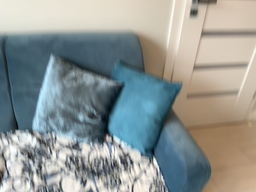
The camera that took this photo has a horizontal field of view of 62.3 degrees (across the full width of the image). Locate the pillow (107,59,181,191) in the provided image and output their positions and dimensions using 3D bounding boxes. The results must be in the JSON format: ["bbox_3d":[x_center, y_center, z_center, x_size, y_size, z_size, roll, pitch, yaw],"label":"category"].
[{"bbox_3d":[0.030,0.250,1.290,0.260,0.810,0.480,-3,33,-11],"label":"pillow"}]

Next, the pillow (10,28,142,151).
[{"bbox_3d":[-0.280,0.000,1.150,0.510,0.500,0.130,25,24,-18],"label":"pillow"}]
